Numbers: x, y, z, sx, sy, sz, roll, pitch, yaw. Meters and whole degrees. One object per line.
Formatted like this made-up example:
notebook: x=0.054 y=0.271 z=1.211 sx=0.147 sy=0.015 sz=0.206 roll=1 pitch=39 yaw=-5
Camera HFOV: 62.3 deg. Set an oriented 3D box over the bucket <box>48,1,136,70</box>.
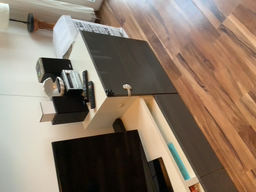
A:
bucket: x=-0.350 y=-0.550 z=2.050 sx=0.350 sy=0.660 sz=0.450 roll=-51 pitch=53 yaw=41
